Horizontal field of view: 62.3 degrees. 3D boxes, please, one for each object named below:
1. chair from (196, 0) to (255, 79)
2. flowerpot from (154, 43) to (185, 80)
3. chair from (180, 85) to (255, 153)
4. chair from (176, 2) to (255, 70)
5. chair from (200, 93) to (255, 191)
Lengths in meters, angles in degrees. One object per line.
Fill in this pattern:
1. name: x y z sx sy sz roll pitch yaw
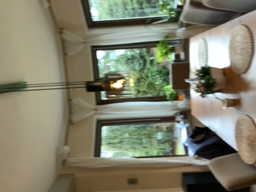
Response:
1. chair: 1.080 -0.490 1.620 0.510 0.950 0.620 -90 -4 -80
2. flowerpot: 0.760 -0.640 3.940 0.270 0.510 0.620 -90 -3 -79
3. chair: 1.140 0.230 2.420 0.510 0.940 0.620 -83 -11 -84
4. chair: 1.080 -0.650 2.390 0.510 0.950 0.620 -90 -4 -80
5. chair: 1.130 0.310 1.670 0.510 0.940 0.620 -83 -11 -84
